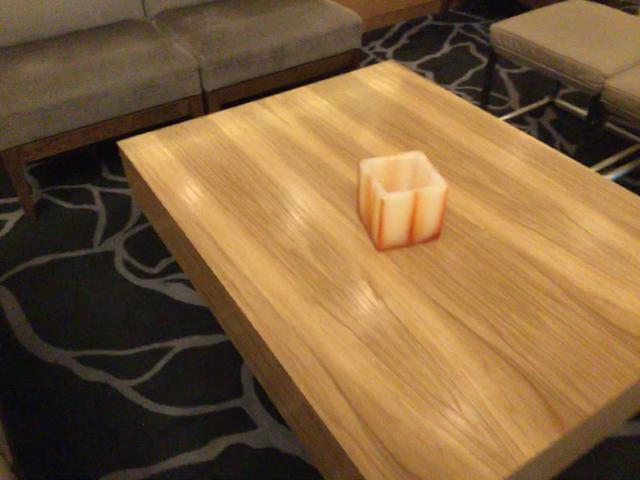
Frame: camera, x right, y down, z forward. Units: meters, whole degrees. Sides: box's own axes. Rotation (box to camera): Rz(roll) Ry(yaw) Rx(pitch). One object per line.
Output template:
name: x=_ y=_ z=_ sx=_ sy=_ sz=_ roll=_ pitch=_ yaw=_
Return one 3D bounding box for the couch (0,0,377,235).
couch: x=-0.600 y=-0.800 z=2.220 sx=1.520 sy=0.820 sz=0.690 roll=-25 pitch=45 yaw=-23

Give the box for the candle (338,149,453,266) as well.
candle: x=0.150 y=-0.070 z=1.180 sx=0.160 sy=0.130 sz=0.160 roll=-25 pitch=45 yaw=-23
